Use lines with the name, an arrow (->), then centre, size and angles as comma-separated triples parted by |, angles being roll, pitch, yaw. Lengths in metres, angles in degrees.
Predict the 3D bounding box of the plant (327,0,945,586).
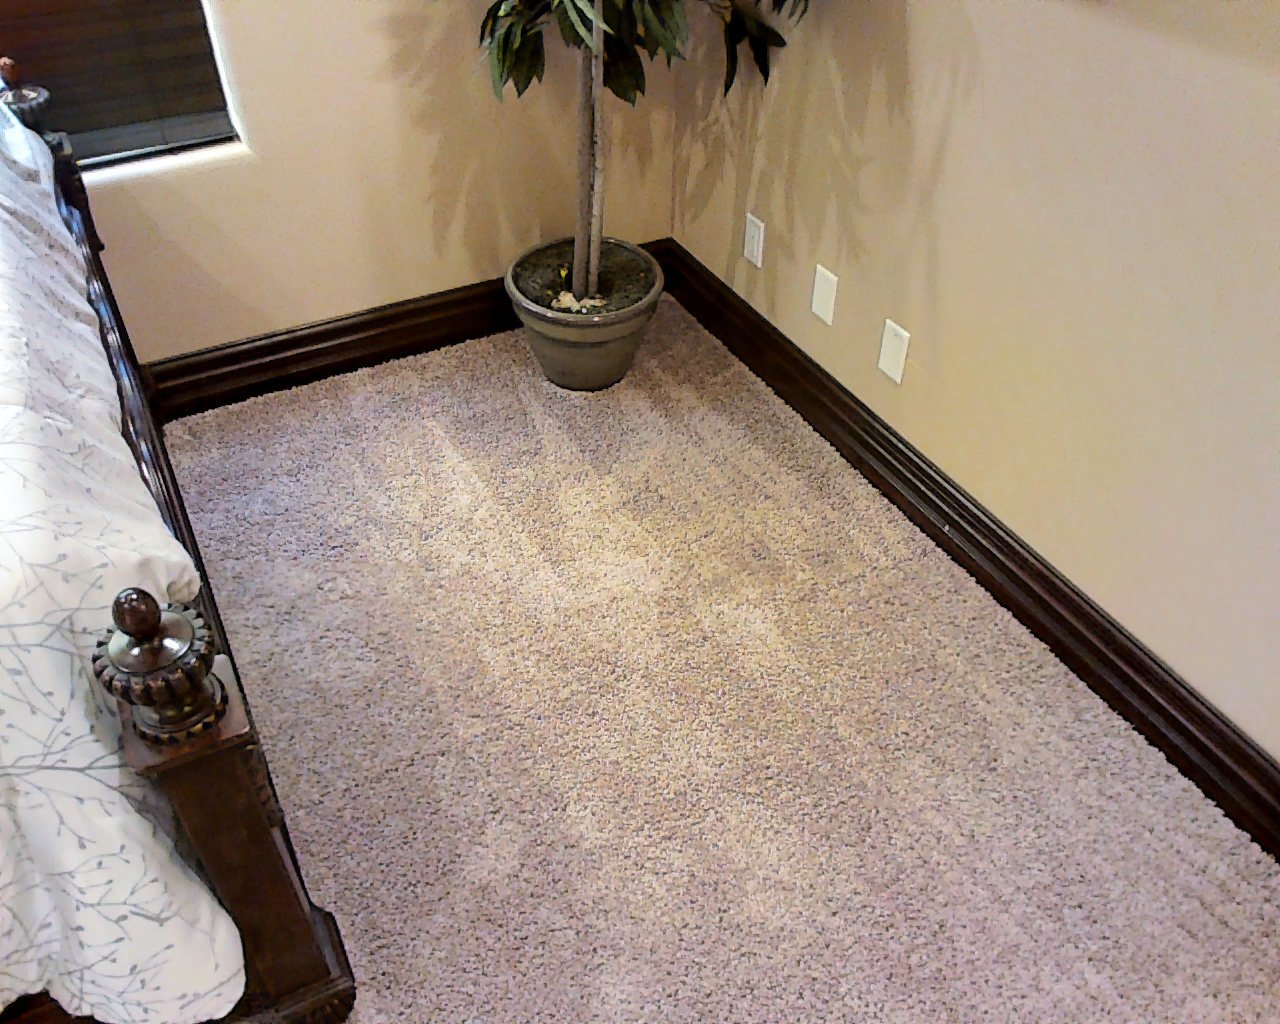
plant -> -0.080, -1.110, 1.820 | 0.760, 2.259, 1.000 | -20, 45, -20
